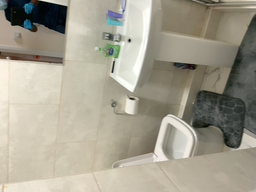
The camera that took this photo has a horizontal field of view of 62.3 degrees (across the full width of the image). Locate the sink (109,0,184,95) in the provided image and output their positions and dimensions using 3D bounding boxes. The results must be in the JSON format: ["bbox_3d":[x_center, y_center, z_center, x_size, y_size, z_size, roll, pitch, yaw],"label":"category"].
[{"bbox_3d":[0.080,-0.330,1.300,0.400,0.190,0.550,37,121,57],"label":"sink"}]
